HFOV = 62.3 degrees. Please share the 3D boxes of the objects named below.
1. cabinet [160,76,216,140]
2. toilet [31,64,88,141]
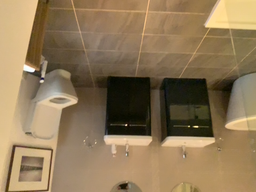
[{"bbox_3d":[0.800,0.180,2.970,0.590,0.800,0.450,1,160,-1],"label":"cabinet"},{"bbox_3d":[-0.890,0.120,2.790,0.640,0.850,0.340,-16,154,39],"label":"toilet"}]
